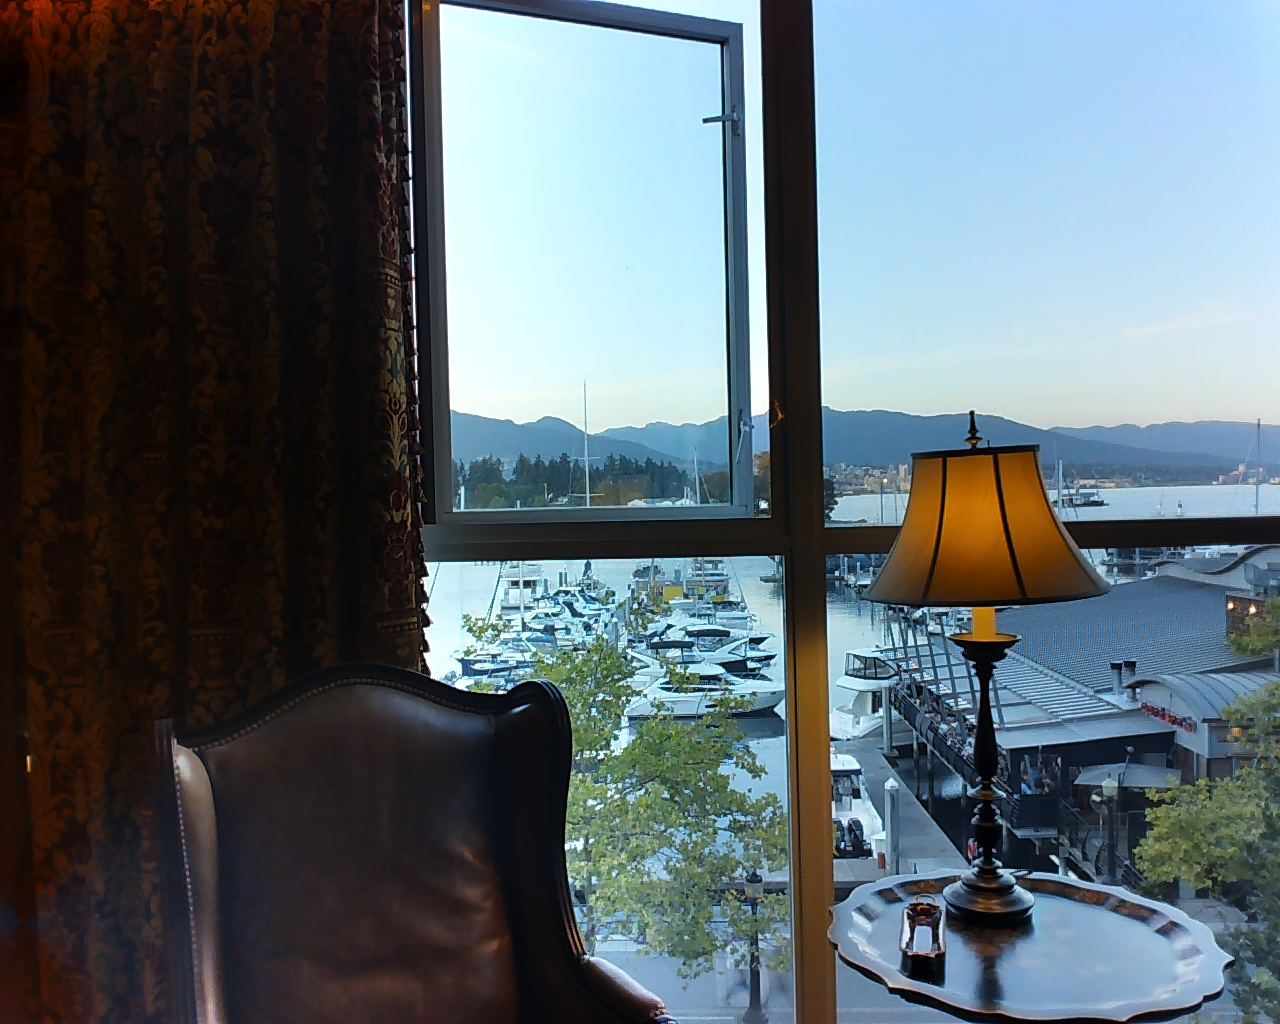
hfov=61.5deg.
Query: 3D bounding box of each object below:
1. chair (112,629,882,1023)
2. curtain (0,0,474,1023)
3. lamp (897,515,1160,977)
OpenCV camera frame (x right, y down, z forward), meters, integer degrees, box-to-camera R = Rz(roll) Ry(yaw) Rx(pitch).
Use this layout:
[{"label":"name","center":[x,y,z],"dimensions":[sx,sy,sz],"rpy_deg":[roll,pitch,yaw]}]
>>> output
[{"label":"chair","center":[-0.310,0.810,1.660],"dimensions":[0.870,1.100,1.050],"rpy_deg":[-1,1,-27]},{"label":"curtain","center":[-0.910,0.090,2.140],"dimensions":[1.070,2.671,0.280],"rpy_deg":[-1,0,2]},{"label":"lamp","center":[0.660,0.370,1.900],"dimensions":[0.340,0.720,0.400],"rpy_deg":[-1,0,6]}]
